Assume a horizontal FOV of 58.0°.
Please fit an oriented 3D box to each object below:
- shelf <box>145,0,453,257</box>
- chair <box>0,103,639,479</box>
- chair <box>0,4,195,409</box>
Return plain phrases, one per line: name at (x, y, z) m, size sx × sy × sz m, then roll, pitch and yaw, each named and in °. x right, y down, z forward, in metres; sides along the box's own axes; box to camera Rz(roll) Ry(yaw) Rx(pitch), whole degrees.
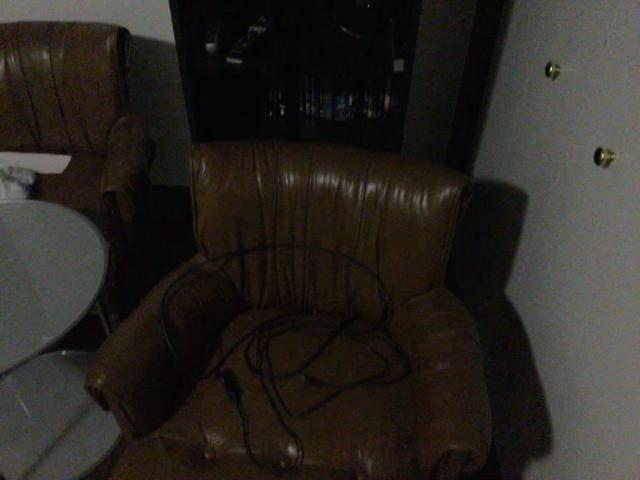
shelf at (-0.040, -0.600, 1.210) m, size 0.550 × 1.250 × 0.490 m, roll 2°, pitch 41°, yaw -3°
chair at (-0.040, 0.310, 1.140) m, size 0.780 × 0.820 × 0.730 m, roll 6°, pitch 41°, yaw 1°
chair at (-0.760, -0.090, 1.540) m, size 0.680 × 0.810 × 0.700 m, roll 2°, pitch 41°, yaw -3°
